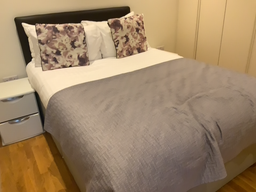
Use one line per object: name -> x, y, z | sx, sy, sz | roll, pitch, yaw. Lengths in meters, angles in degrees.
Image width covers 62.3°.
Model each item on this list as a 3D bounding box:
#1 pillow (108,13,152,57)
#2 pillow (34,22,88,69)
pillow -> 0.020, -0.640, 2.270 | 0.420, 0.420, 0.150 | -7, 24, -34
pillow -> -0.610, -0.460, 1.950 | 0.430, 0.380, 0.170 | -5, 23, -28
